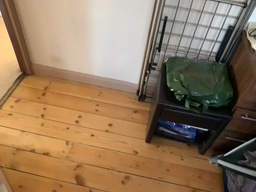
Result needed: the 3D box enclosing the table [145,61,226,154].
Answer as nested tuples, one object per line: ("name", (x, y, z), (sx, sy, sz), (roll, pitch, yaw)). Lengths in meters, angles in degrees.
("table", (0.400, 0.090, 1.600), (0.420, 0.460, 0.430), (12, 48, 3))
